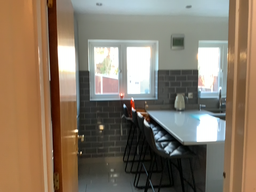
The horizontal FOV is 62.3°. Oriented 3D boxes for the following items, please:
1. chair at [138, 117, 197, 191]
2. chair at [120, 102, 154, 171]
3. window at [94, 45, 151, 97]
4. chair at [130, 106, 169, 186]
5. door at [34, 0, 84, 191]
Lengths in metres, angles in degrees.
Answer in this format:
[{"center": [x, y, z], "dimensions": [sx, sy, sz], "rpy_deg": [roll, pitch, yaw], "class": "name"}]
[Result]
[{"center": [0.360, 0.750, 2.100], "dimensions": [0.460, 1.000, 0.410], "rpy_deg": [-1, 5, -6], "class": "chair"}, {"center": [0.130, 0.620, 3.410], "dimensions": [0.480, 1.010, 0.410], "rpy_deg": [-1, 5, -8], "class": "chair"}, {"center": [-0.090, -0.440, 3.760], "dimensions": [1.000, 0.880, 0.100], "rpy_deg": [-1, 5, -8], "class": "window"}, {"center": [0.280, 0.670, 2.980], "dimensions": [0.490, 1.000, 0.410], "rpy_deg": [0, 5, -3], "class": "chair"}, {"center": [-0.370, 0.360, 1.310], "dimensions": [0.100, 2.050, 0.750], "rpy_deg": [-1, 5, -6], "class": "door"}]
